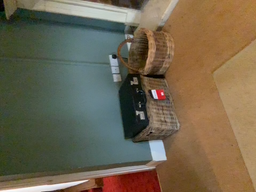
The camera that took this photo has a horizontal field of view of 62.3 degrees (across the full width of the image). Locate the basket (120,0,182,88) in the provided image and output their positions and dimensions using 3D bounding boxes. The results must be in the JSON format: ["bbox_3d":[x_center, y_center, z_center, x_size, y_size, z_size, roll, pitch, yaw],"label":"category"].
[{"bbox_3d":[0.170,-0.470,2.000,0.610,0.240,0.560,129,136,-57],"label":"basket"}]
